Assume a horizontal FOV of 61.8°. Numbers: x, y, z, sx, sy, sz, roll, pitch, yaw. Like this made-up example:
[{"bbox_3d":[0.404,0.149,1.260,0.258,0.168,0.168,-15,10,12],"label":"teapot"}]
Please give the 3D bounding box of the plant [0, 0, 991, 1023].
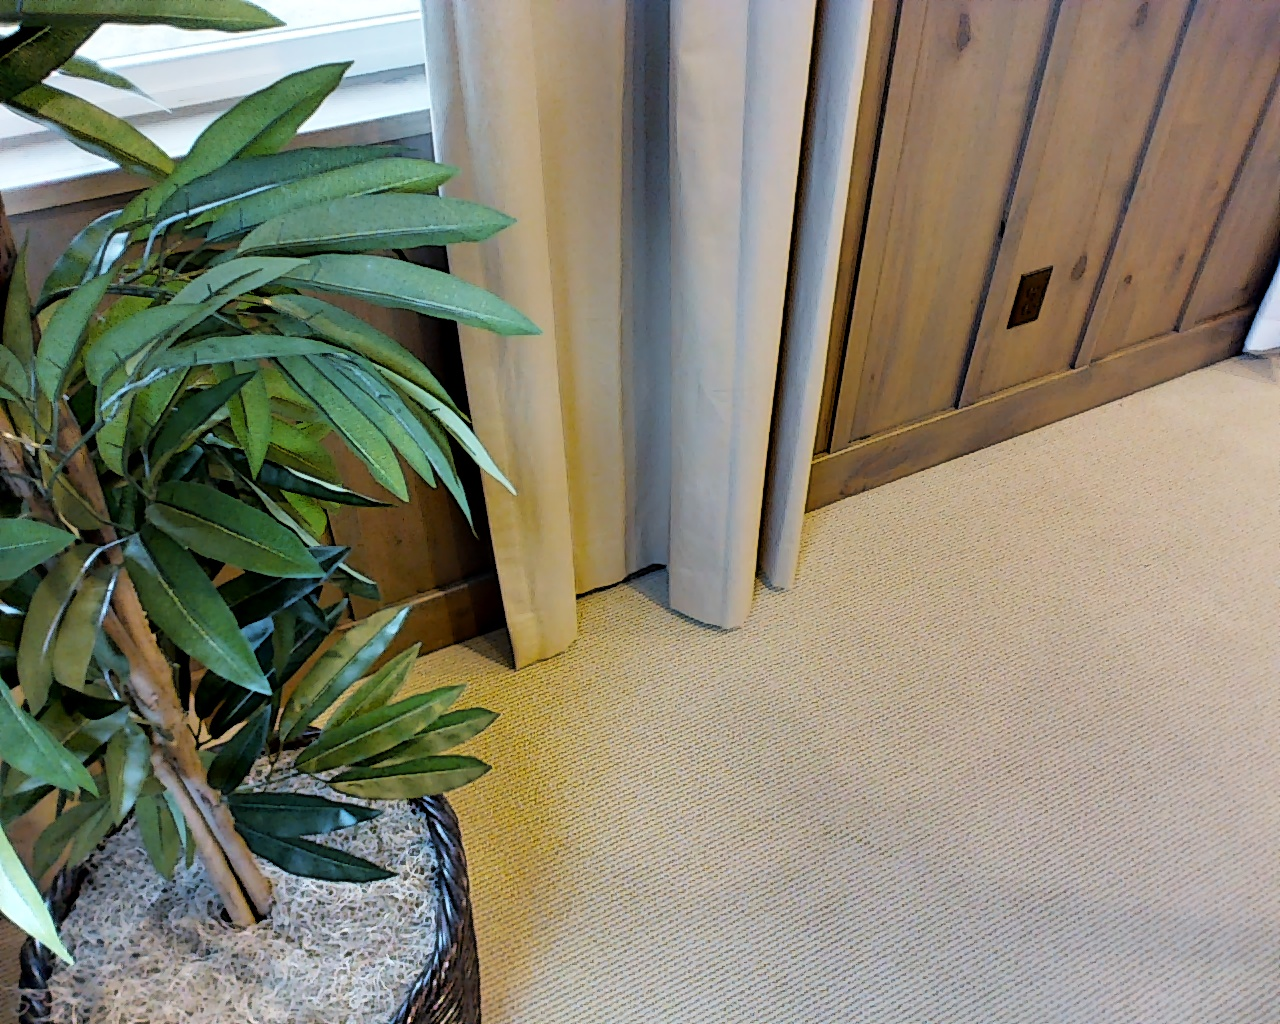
[{"bbox_3d":[-0.440,-0.170,0.500,0.840,1.840,0.750,-20,47,-20],"label":"plant"}]
